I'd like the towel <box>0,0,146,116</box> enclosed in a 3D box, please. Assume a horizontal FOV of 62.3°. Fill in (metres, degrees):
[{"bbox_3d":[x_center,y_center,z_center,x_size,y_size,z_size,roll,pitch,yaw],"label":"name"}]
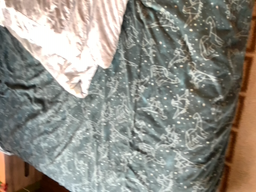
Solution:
[{"bbox_3d":[-0.450,-0.510,1.000,1.140,0.140,0.630,39,117,25],"label":"towel"}]
